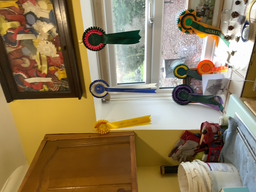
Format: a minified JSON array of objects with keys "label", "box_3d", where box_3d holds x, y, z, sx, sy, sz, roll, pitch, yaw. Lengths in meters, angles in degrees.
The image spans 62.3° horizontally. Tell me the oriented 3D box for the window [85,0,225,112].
[{"label":"window","box_3d":[0.190,-0.450,1.580,0.080,0.950,1.260,-93,1,-61]}]
